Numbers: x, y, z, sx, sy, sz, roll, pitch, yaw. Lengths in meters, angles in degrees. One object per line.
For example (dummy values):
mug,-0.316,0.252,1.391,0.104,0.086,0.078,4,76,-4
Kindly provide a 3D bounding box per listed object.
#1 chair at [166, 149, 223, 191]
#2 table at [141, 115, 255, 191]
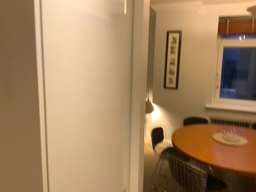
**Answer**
chair,0.670,1.010,2.180,0.460,0.730,0.340,-8,13,-42
table,1.260,0.900,2.720,1.530,0.790,1.510,-6,12,-37
